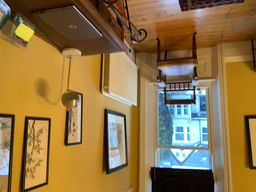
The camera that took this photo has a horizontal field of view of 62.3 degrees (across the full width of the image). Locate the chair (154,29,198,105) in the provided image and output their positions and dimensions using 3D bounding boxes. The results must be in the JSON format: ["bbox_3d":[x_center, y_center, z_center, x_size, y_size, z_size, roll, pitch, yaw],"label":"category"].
[{"bbox_3d":[0.760,-0.400,3.330,0.590,0.990,0.640,-2,170,17],"label":"chair"}]
